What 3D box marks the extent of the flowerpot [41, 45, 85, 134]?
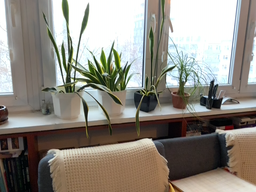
[{"bbox_3d":[-0.410,-0.060,1.340,0.220,0.500,0.270,-3,14,-20],"label":"flowerpot"}]
